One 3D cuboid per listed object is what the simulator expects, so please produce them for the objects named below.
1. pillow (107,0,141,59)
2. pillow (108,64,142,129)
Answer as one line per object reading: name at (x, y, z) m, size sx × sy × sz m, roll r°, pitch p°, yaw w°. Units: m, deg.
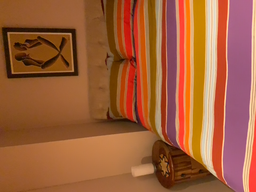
pillow at (-0.050, -0.700, 2.080) m, size 0.380 × 0.230 × 0.660 m, roll -155°, pitch 63°, yaw -71°
pillow at (-0.040, -0.020, 2.170) m, size 0.390 × 0.240 × 0.590 m, roll -149°, pitch 57°, yaw -69°
